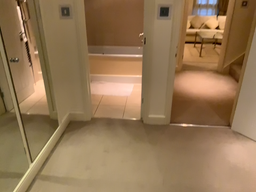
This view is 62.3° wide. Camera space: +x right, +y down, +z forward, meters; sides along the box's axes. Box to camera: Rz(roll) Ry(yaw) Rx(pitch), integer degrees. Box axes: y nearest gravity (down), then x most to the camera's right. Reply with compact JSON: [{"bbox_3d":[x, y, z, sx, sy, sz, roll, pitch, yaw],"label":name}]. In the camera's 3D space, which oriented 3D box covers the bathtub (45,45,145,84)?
[{"bbox_3d":[-0.580,-0.660,4.230,1.800,0.490,0.750,3,26,6],"label":"bathtub"}]
